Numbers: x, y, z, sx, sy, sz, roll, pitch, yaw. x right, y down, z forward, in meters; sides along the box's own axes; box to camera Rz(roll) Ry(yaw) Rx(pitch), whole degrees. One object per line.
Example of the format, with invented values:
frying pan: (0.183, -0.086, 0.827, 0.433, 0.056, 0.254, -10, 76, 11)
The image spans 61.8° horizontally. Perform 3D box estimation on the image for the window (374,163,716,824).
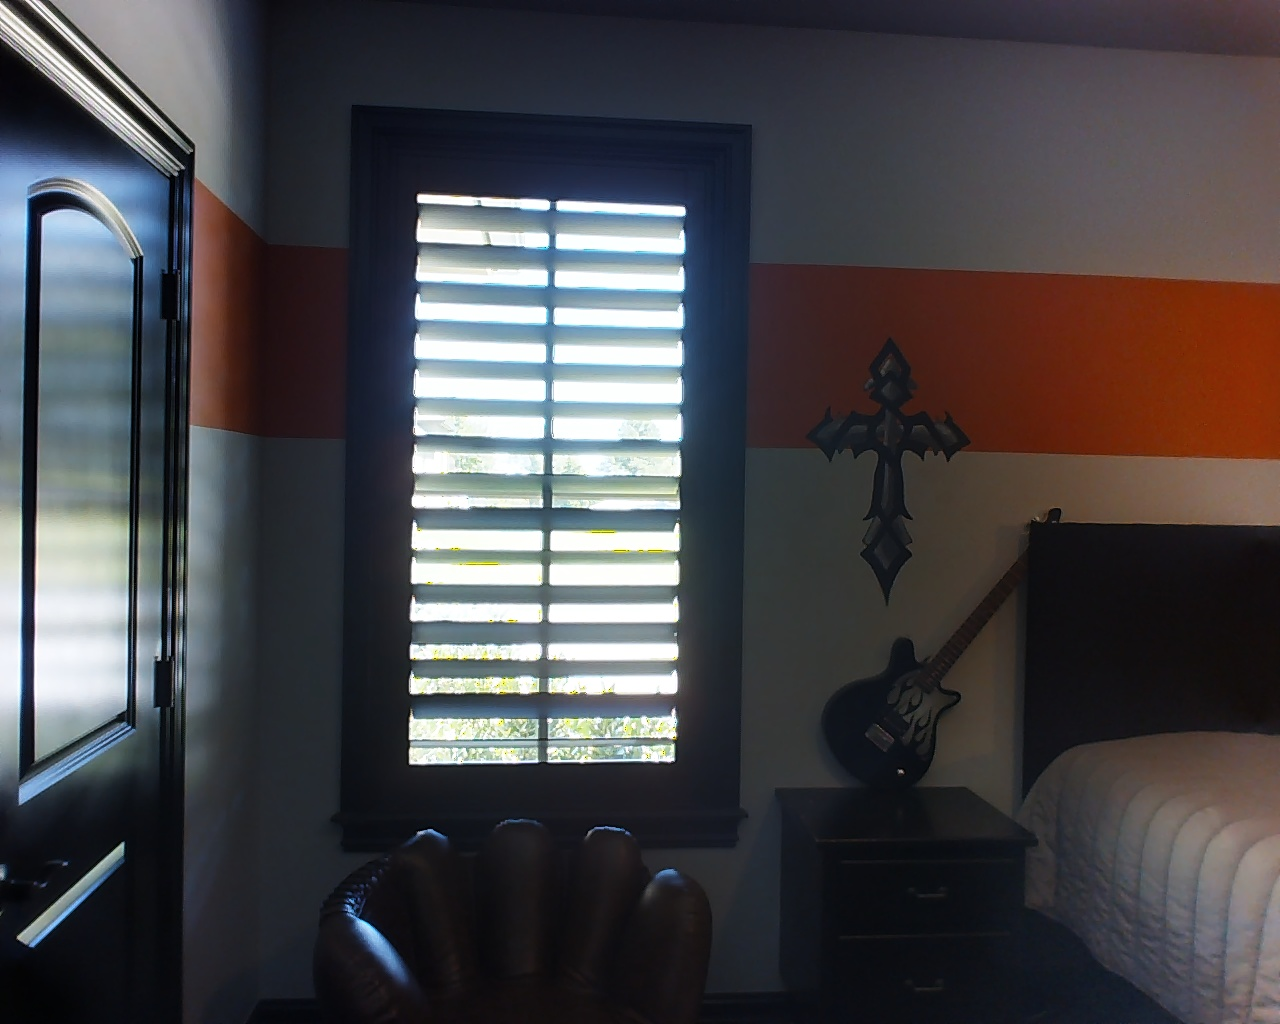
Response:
window: (-0.250, -0.040, 2.890, 0.870, 1.730, 0.100, 1, 0, -6)

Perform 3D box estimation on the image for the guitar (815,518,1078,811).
guitar: (0.850, 0.420, 2.960, 0.710, 0.790, 0.070, 1, 0, -6)

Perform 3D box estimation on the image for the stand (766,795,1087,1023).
stand: (0.710, 1.120, 2.760, 0.670, 0.650, 0.460, 1, 0, -6)
